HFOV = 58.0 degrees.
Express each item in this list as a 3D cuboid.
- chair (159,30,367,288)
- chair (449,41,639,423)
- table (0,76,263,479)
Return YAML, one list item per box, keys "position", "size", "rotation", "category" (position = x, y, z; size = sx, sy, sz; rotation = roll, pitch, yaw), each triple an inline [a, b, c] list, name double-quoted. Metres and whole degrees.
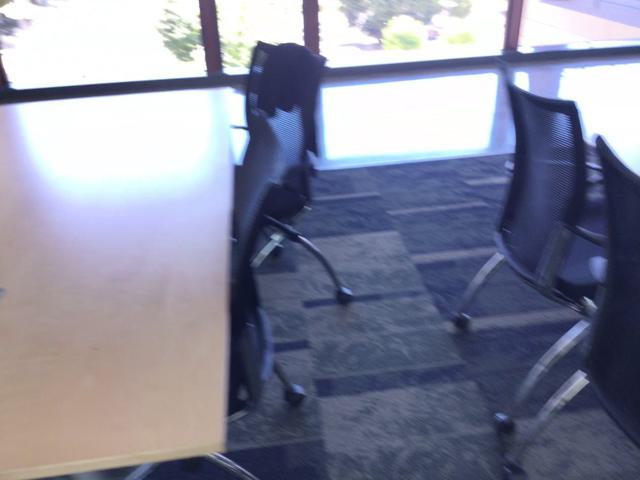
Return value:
- position: [-0.180, -0.320, 2.040]
  size: [0.450, 0.730, 0.520]
  rotation: [-23, 32, -36]
  category: "chair"
- position: [0.770, -0.050, 1.620]
  size: [0.620, 0.880, 0.550]
  rotation: [-5, 26, -4]
  category: "chair"
- position: [-0.760, 0.000, 1.630]
  size: [1.140, 0.500, 1.960]
  rotation: [-5, 26, -4]
  category: "table"
